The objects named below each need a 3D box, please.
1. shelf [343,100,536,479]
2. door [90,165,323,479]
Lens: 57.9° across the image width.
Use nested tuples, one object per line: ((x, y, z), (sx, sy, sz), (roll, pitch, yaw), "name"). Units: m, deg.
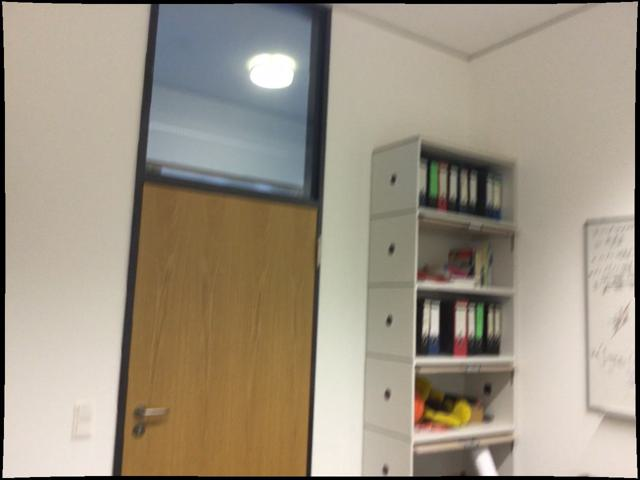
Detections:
((0.659, 0.601, 3.170), (0.909, 2.503, 0.520), (2, -3, -30), "shelf")
((-0.499, 0.751, 2.750), (1.079, 2.102, 0.140), (2, -3, -30), "door")
